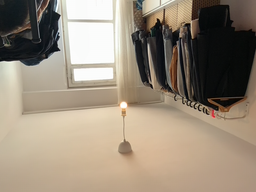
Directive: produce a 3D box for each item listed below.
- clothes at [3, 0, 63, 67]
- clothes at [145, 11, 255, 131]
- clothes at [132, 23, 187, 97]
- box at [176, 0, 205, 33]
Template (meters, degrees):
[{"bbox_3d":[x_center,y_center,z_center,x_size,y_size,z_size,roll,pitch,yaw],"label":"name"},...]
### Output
[{"bbox_3d":[-1.000,-0.860,2.300,0.470,1.040,0.510,-4,-168,-14],"label":"clothes"},{"bbox_3d":[0.750,-0.320,2.460,0.800,1.030,1.160,-3,-168,-11],"label":"clothes"},{"bbox_3d":[0.450,-0.570,3.360,0.620,1.020,0.790,-3,-168,-10],"label":"clothes"},{"bbox_3d":[0.690,-0.890,2.380,0.140,0.310,0.340,-4,-168,-13],"label":"box"}]
